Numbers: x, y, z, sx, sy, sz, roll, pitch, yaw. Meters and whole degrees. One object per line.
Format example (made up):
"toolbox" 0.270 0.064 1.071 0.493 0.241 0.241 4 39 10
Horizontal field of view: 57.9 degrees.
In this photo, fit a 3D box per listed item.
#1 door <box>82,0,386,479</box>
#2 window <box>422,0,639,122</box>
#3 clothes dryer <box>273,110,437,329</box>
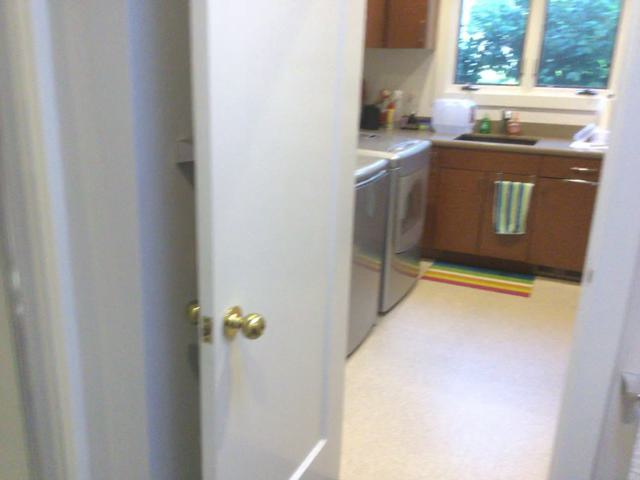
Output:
"door" -0.090 -0.030 1.300 0.150 2.010 0.910 8 18 22
"window" 1.510 -1.570 3.860 1.530 1.450 0.220 8 18 22
"clothes dryer" 0.210 -0.180 3.390 0.700 1.070 0.740 8 18 22
